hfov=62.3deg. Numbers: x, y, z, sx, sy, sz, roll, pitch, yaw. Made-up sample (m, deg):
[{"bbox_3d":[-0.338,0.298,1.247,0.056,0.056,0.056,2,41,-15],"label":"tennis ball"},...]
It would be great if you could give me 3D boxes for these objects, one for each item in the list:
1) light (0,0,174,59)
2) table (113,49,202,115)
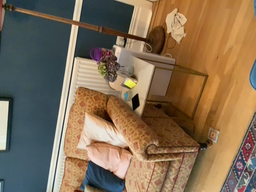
[{"bbox_3d":[-0.470,-0.760,2.150,0.550,1.850,0.390,34,115,60],"label":"light"},{"bbox_3d":[0.230,-0.120,1.820,0.400,0.540,0.420,38,118,59],"label":"table"}]
